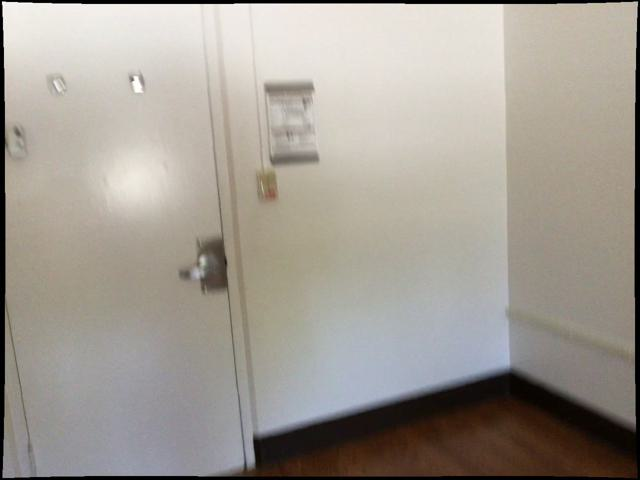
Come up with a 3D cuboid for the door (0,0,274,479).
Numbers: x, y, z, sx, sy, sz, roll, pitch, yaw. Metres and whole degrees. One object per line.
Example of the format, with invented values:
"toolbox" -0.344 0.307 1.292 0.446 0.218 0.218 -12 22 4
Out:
"door" -0.739 0.030 2.150 0.969 1.982 0.150 -9 13 -21
